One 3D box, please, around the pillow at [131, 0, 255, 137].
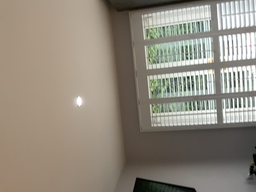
[{"bbox_3d":[1.150,-0.400,2.590,0.120,2.090,1.750,-39,-56,-79],"label":"pillow"}]
